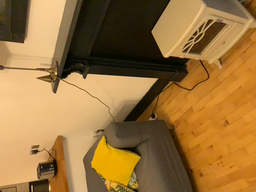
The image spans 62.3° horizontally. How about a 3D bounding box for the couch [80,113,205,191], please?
[{"bbox_3d":[0.190,1.180,1.770,0.890,0.680,1.850,-51,47,47],"label":"couch"}]
